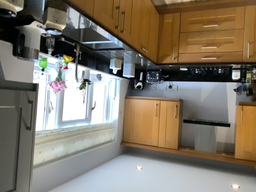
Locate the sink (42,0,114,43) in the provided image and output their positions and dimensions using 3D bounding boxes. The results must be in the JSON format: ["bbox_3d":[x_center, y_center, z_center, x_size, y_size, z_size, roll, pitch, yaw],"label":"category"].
[{"bbox_3d":[-0.410,-0.640,1.790,0.440,0.260,0.370,3,179,24],"label":"sink"}]

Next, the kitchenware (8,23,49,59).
[{"bbox_3d":[-0.740,-0.400,1.590,0.150,0.200,0.220,3,179,24],"label":"kitchenware"}]

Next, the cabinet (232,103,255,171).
[{"bbox_3d":[1.630,0.530,2.900,0.320,0.850,0.320,4,179,24],"label":"cabinet"}]

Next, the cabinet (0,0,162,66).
[{"bbox_3d":[-0.320,-0.940,2.010,0.610,0.890,2.460,3,179,24],"label":"cabinet"}]

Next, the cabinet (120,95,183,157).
[{"bbox_3d":[0.380,0.450,3.450,0.900,0.860,0.350,4,179,24],"label":"cabinet"}]

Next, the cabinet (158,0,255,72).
[{"bbox_3d":[1.190,-0.840,3.010,1.340,0.910,0.600,4,179,24],"label":"cabinet"}]
